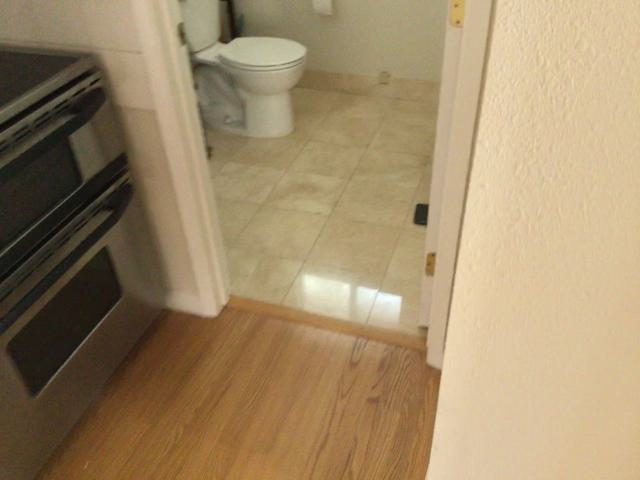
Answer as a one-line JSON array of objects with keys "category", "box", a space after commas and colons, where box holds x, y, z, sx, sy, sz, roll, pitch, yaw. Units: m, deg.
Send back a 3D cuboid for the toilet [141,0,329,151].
[{"category": "toilet", "box": [-0.380, -0.920, 2.860, 0.730, 0.740, 0.450, 10, 40, 15]}]
